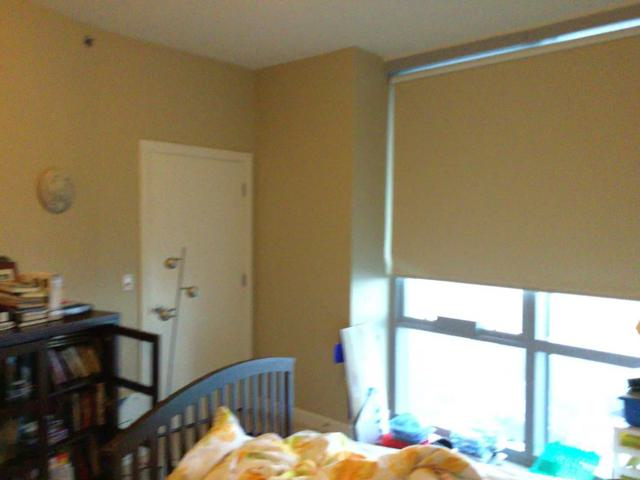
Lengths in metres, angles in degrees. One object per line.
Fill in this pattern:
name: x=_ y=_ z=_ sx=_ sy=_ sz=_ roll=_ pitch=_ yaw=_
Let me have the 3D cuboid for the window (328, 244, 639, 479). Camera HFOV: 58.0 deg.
window: x=1.170 y=0.700 z=3.590 sx=1.040 sy=1.190 sz=2.110 roll=-3 pitch=5 yaw=-45

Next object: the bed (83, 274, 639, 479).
bed: x=0.450 y=0.870 z=2.180 sx=2.050 sy=1.230 sz=1.440 roll=2 pitch=4 yaw=22
